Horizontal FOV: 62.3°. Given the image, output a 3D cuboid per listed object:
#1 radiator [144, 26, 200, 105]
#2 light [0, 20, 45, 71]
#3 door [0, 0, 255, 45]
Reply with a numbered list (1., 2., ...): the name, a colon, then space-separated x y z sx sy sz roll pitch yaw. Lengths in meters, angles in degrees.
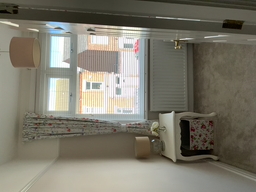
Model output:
1. radiator: 0.680 -0.470 3.330 0.150 0.820 1.190 137 134 -78
2. light: -1.230 -0.540 2.330 0.420 0.550 0.380 150 121 -70
3. door: 0.390 -0.340 1.100 0.930 2.050 0.100 -118 31 -73
